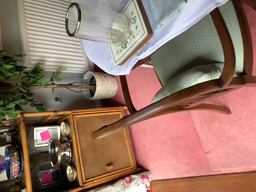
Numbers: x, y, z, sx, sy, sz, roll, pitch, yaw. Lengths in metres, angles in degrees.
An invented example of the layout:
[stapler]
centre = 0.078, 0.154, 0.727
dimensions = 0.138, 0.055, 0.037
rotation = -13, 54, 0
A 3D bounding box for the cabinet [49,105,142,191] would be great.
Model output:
[cabinet]
centre = -0.320, 0.470, 2.000
dimensions = 0.490, 0.610, 0.630
rotation = -29, 68, 47
